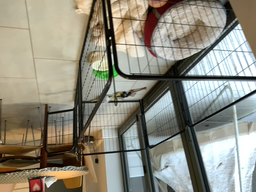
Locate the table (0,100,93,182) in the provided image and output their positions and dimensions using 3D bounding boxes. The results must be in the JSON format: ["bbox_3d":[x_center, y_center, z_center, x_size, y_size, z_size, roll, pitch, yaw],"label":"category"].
[{"bbox_3d":[-1.000,0.580,2.590,0.970,0.710,1.000,-1,156,-17],"label":"table"}]
